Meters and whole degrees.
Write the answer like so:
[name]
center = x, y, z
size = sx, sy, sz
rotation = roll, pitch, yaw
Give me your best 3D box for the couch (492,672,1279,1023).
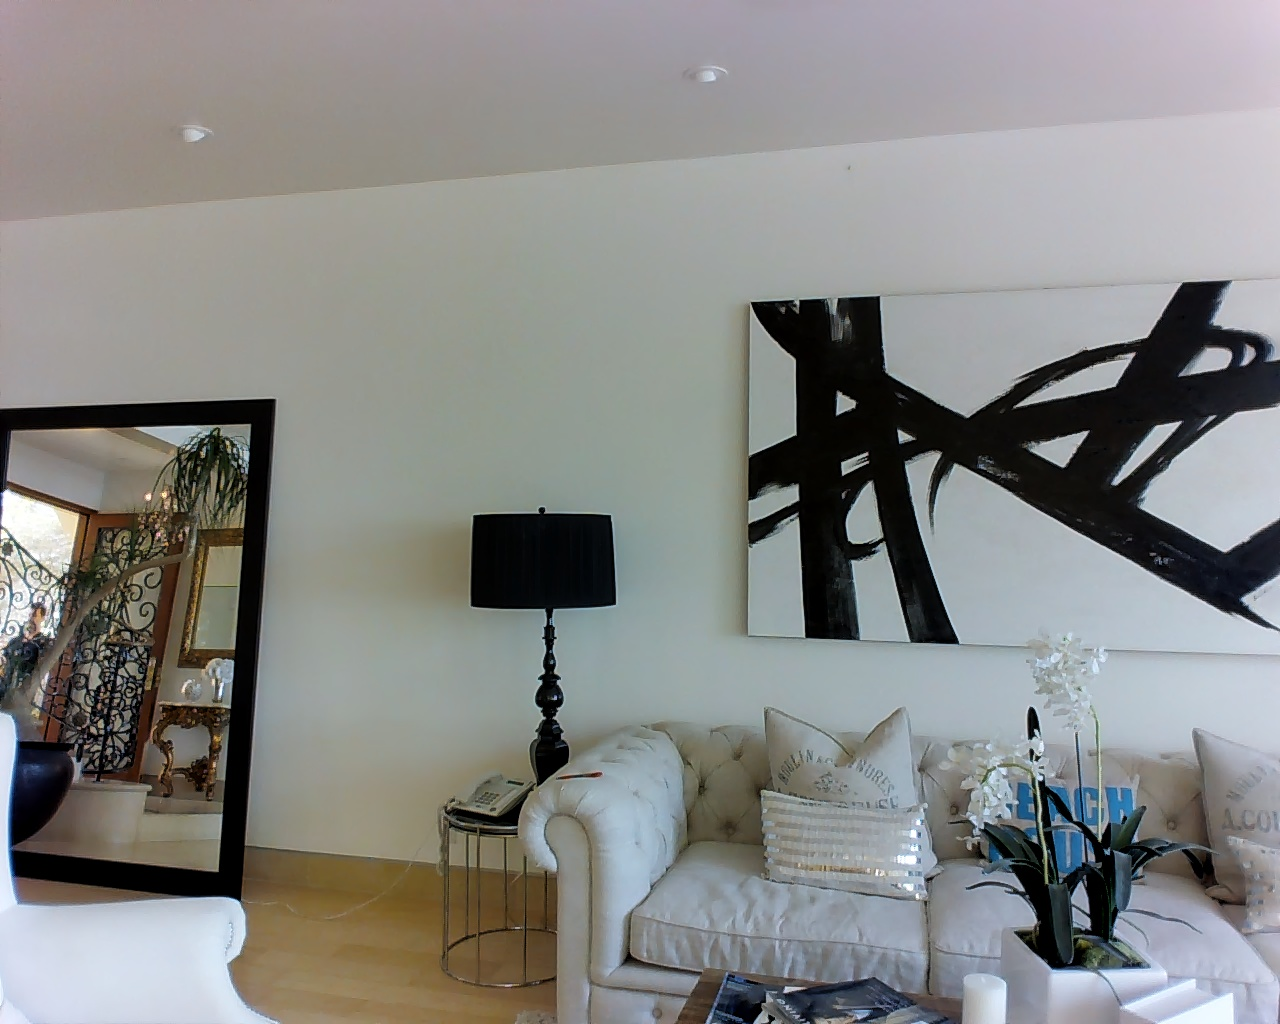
[couch]
center = 1.259, 1.070, 3.090
size = 3.149, 0.930, 1.130
rotation = 0, 0, 16
